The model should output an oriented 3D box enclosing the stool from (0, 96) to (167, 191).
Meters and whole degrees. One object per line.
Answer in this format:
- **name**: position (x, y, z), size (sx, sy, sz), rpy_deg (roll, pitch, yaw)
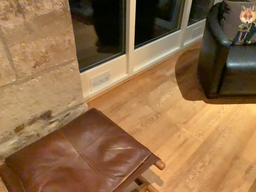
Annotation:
- **stool**: position (-0.230, 0.400, 1.080), size (0.610, 0.380, 0.540), rpy_deg (-31, 49, -34)
